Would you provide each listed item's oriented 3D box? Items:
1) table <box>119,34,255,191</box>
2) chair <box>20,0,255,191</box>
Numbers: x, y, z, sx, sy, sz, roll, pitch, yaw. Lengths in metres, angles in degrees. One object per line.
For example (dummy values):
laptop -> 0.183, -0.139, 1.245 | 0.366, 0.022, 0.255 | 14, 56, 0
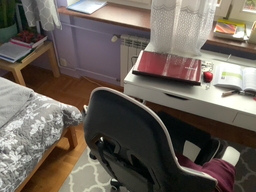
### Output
table -> 0.690, 0.160, 1.620 | 1.360, 0.760, 0.670 | 16, 44, 14
chair -> 0.170, 0.260, 1.140 | 0.730, 1.210, 0.770 | 26, 47, 23
